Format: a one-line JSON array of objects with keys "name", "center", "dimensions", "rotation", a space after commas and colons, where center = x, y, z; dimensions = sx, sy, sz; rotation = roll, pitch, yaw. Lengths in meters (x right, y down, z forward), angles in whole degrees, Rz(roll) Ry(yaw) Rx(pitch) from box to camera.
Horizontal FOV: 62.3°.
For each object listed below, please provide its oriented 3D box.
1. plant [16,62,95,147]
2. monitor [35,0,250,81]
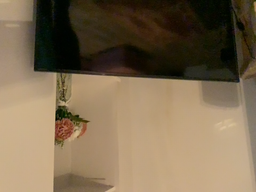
[{"name": "plant", "center": [-0.430, 0.080, 1.360], "dimensions": [0.310, 0.460, 0.370], "rotation": [-4, 169, 14]}, {"name": "monitor", "center": [0.120, -0.360, 0.940], "dimensions": [0.950, 0.540, 0.040], "rotation": [2, 169, -18]}]
